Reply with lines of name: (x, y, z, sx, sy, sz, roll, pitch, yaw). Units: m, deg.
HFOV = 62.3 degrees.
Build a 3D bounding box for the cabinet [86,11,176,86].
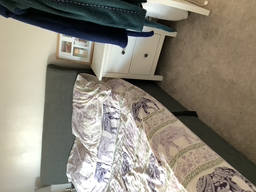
cabinet: (0.000, -0.450, 2.050, 0.450, 0.640, 0.540, -131, 50, -55)
